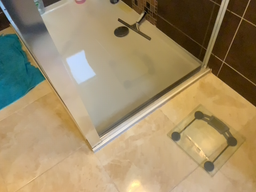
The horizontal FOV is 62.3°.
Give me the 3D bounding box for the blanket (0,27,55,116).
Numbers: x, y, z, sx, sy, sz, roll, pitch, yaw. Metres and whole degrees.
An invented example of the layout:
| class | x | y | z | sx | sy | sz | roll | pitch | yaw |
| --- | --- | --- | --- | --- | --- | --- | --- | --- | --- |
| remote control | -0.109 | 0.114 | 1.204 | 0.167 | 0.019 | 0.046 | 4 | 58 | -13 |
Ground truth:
| class | x | y | z | sx | sy | sz | roll | pitch | yaw |
| --- | --- | --- | --- | --- | --- | --- | --- | --- | --- |
| blanket | -0.950 | -0.180 | 1.520 | 0.550 | 0.030 | 0.740 | -36 | 61 | -18 |
